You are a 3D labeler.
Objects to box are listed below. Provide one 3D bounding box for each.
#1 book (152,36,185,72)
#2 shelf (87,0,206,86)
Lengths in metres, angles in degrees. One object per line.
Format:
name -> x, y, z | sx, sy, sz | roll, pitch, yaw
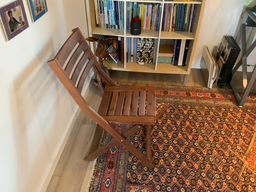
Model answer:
book -> 0.430, -0.450, 2.270 | 0.290, 0.290, 0.210 | 7, 38, 8
shelf -> 0.170, -1.120, 1.840 | 1.010, 2.130, 0.420 | 5, 38, 5
